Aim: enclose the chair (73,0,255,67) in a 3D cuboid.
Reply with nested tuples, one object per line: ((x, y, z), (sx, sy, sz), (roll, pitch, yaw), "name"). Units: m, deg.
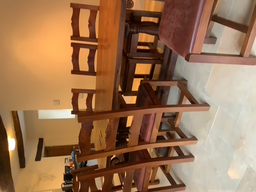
((0.240, -0.470, 1.220), (0.420, 1.060, 0.450), (-120, 34, -58), "chair")

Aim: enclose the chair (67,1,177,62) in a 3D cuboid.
((-0.110, -0.700, 2.330), (0.510, 1.070, 0.450), (-118, 32, -56), "chair")
